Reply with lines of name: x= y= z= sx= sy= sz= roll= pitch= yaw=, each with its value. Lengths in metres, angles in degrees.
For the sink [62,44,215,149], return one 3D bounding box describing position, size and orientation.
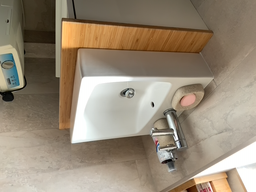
sink: x=-0.010 y=0.030 z=0.830 sx=0.460 sy=0.130 sz=0.470 roll=-2 pitch=146 yaw=-20
